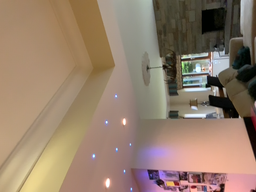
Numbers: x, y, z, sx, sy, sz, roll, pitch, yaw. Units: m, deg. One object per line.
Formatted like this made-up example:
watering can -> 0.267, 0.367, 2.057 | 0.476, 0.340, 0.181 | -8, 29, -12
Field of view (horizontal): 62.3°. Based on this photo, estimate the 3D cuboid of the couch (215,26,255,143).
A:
couch -> 2.050, -0.440, 3.410 | 2.620, 0.900, 1.120 | -55, -40, -65
